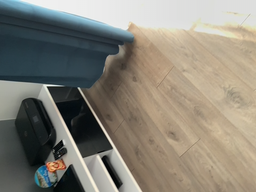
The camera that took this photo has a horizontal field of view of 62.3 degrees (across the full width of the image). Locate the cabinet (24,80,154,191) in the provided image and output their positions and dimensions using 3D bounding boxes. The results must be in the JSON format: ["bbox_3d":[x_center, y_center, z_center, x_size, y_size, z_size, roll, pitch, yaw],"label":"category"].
[{"bbox_3d":[-0.260,0.610,1.580,1.630,0.400,0.500,52,124,29],"label":"cabinet"}]
